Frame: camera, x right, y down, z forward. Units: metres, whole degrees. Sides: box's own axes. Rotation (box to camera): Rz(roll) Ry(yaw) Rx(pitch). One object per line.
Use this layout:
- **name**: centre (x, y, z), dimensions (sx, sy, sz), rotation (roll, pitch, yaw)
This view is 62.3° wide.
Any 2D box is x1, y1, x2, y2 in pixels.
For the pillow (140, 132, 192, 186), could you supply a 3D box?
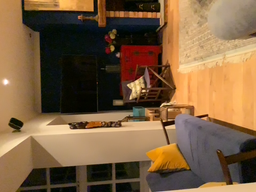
- **pillow**: centre (0.410, 0.680, 2.330), dimensions (0.350, 0.390, 0.230), rotation (49, 170, 53)
